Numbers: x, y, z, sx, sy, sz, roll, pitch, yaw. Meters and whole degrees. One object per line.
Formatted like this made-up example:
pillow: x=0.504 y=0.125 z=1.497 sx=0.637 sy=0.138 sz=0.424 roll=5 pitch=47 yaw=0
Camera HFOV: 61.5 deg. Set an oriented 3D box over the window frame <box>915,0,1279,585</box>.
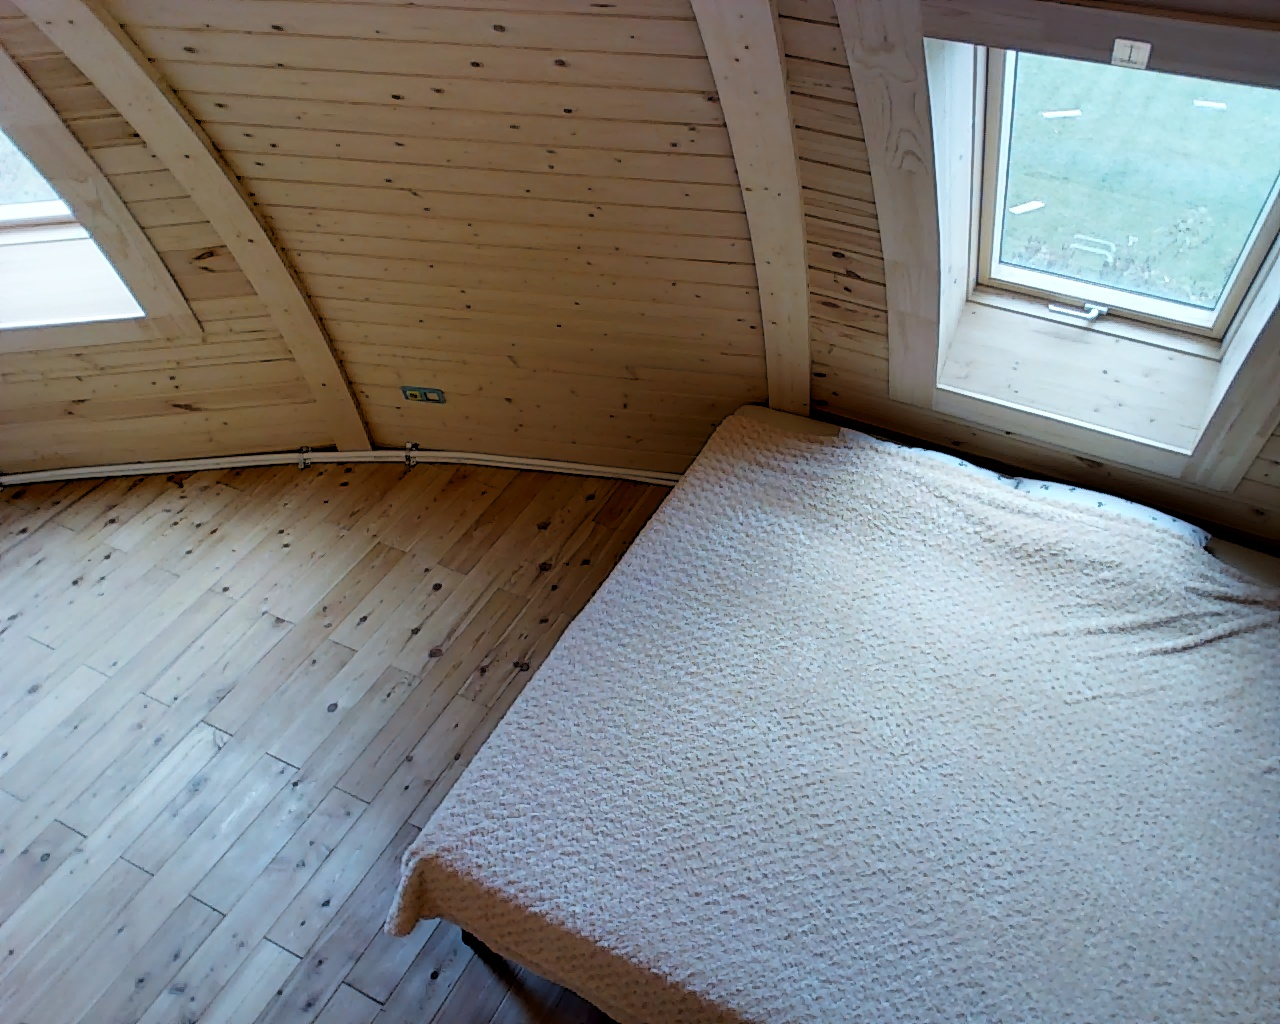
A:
window frame: x=1.120 y=-0.630 z=2.520 sx=0.730 sy=1.520 sz=0.460 roll=-3 pitch=9 yaw=28
